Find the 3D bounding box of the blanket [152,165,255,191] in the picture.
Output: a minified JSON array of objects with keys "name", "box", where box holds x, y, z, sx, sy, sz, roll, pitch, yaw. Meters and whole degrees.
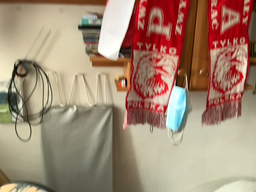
[{"name":"blanket","box":[0.630,0.660,1.180,0.920,0.330,0.410,-1,16,-7]}]
